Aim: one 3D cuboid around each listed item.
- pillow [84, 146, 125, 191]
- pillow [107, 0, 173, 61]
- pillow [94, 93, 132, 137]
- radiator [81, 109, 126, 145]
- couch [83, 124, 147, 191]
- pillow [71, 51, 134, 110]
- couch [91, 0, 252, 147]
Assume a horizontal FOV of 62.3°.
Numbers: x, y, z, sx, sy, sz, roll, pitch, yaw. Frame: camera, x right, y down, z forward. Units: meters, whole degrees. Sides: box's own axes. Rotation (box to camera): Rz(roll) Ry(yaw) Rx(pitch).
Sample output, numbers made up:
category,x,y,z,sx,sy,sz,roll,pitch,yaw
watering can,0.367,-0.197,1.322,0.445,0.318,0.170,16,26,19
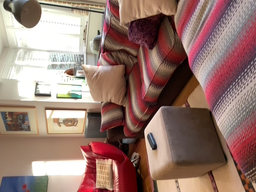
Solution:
category,x,y,z,sx,sy,sz,roll,pitch,yaw
pillow,-0.420,1.280,3.620,0.250,0.580,0.570,-5,-127,-43
pillow,0.100,-0.590,1.820,0.390,0.380,0.240,41,-151,-43
pillow,-0.200,0.250,2.680,0.210,0.390,0.370,26,-141,-43
radiator,-0.530,0.650,4.230,1.080,0.740,0.180,110,157,-49
couch,-0.230,1.740,3.130,1.270,0.740,2.290,109,157,-47
pillow,-0.290,-0.180,2.570,0.210,0.570,0.500,-73,-40,-70
couch,0.180,-0.660,1.980,2.890,0.740,1.110,111,157,-50
